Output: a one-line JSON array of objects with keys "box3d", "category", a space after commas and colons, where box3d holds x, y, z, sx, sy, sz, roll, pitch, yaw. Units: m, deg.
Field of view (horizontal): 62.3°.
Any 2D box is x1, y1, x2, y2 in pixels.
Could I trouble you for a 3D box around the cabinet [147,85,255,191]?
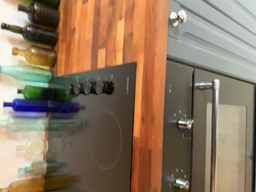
[{"box3d": [0.440, 0.260, 1.200, 0.630, 0.260, 0.600, 0, 86, 48], "category": "cabinet"}]
